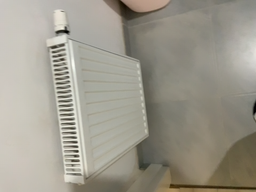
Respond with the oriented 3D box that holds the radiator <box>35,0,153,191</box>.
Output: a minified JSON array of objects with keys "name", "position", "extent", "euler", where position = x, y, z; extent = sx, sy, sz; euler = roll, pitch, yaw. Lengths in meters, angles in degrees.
[{"name":"radiator","position":[-0.070,-0.040,0.900],"extent":[0.110,0.670,0.610],"euler":[-8,88,21]}]
